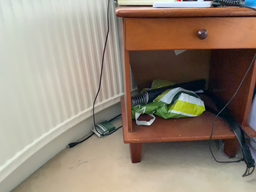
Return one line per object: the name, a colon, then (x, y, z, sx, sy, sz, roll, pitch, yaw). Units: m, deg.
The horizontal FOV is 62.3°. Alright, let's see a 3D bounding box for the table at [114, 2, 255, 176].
table: (0.210, -0.060, 0.910, 0.510, 0.620, 0.400, -2, 23, -5)
